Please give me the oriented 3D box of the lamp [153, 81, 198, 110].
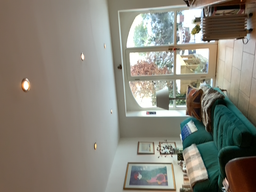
[{"bbox_3d":[0.980,-0.020,4.510,0.520,0.860,0.460,-70,-23,-72],"label":"lamp"}]
